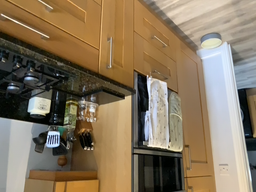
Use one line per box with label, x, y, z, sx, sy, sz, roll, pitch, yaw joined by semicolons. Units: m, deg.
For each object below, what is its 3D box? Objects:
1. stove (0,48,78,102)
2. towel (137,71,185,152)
stove;-0.650;-0.100;0.990;0.550;0.030;0.600;-13;157;37
towel;0.240;0.130;1.500;0.090;0.490;0.450;-14;157;38
